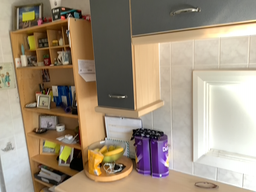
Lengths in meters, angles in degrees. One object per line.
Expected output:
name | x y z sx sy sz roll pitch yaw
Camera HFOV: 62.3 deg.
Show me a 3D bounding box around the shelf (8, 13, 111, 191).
shelf | -0.610 0.380 1.980 0.840 2.030 0.290 5 13 34
